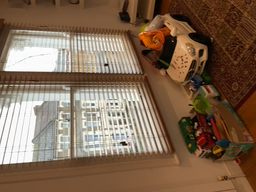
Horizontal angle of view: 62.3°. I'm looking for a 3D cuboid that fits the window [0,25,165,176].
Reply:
[{"bbox_3d":[-0.670,-0.180,2.240,2.000,1.600,0.080,-106,22,-43],"label":"window"}]
